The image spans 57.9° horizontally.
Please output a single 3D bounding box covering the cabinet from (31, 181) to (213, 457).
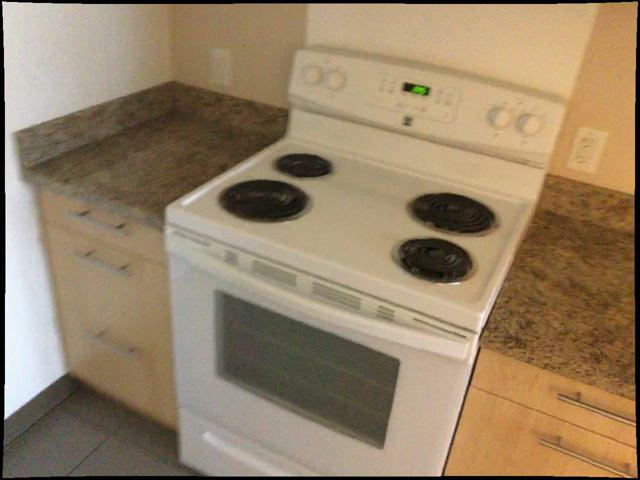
[{"bbox_3d":[-0.569,0.250,1.690,0.510,0.741,0.090,19,32,17],"label":"cabinet"}]
